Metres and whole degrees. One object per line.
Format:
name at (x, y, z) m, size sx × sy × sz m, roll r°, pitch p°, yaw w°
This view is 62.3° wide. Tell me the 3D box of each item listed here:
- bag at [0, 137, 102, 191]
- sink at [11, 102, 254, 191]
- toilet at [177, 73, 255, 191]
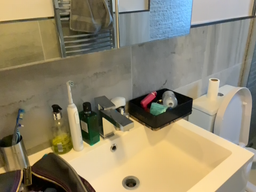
bag at (-0.140, 0.220, 0.390) m, size 0.140 × 0.140 × 0.260 m, roll -20°, pitch 30°, yaw -34°
sink at (0.020, 0.240, 0.680) m, size 0.600 × 0.130 × 0.450 m, roll -20°, pitch 30°, yaw -34°
toilet at (0.670, 0.390, 1.210) m, size 0.400 × 0.850 × 0.600 m, roll -20°, pitch 30°, yaw -34°
